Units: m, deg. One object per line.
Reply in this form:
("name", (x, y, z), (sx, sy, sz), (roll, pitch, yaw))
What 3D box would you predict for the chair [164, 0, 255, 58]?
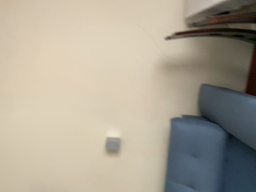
("chair", (0.810, -0.580, 1.560), (0.440, 0.940, 0.530), (-114, 29, -79))
